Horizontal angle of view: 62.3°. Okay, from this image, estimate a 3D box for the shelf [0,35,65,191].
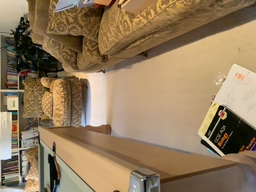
[{"bbox_3d":[-2.350,0.520,4.370,0.350,1.920,3.500,-13,78,61],"label":"shelf"}]
